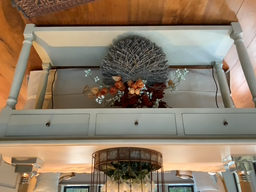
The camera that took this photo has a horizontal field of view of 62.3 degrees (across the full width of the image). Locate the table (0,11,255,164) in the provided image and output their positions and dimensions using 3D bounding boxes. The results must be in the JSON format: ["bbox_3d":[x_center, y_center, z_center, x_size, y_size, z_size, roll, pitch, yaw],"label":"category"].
[{"bbox_3d":[0.030,-0.060,1.350,1.430,0.860,0.420,-1,152,0],"label":"table"}]
